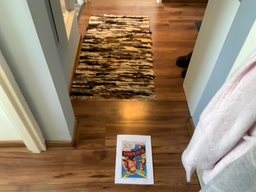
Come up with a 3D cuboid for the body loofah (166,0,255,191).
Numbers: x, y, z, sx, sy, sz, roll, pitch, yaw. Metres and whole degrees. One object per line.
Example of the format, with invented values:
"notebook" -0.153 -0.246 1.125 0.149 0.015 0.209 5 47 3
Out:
"body loofah" 0.330 0.100 0.510 0.210 1.110 0.450 0 49 -3
